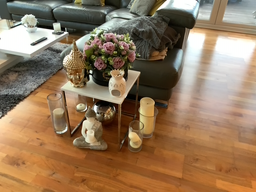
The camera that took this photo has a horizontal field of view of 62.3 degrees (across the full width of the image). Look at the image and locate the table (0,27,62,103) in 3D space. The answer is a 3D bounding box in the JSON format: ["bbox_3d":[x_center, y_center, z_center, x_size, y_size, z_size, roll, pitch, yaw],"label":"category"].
[{"bbox_3d":[-1.600,-0.400,2.230,1.280,0.280,1.190,11,36,12],"label":"table"}]
